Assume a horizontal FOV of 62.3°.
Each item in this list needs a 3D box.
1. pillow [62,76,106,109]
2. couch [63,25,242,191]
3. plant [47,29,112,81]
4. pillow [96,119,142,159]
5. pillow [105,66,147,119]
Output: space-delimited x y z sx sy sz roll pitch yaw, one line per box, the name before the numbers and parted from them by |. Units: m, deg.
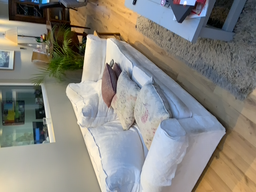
pillow | -0.560 -0.070 2.860 0.640 0.340 0.140 -61 -24 -59
couch | -0.100 0.070 2.370 2.160 0.810 1.040 52 136 50
plant | -0.870 -0.700 3.710 0.570 0.950 0.650 53 136 49
pillow | -0.090 0.370 1.950 0.630 0.350 0.100 -107 21 -77
pillow | -0.040 -0.040 2.140 0.400 0.210 0.370 53 136 49
